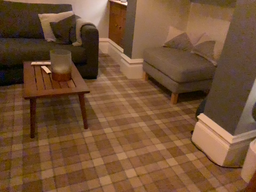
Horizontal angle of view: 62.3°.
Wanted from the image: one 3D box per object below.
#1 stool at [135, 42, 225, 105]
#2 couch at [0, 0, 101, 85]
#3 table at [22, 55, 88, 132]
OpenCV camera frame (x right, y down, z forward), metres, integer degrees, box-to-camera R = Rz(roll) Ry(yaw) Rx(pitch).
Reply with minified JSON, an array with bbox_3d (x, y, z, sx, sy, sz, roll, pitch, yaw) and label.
[{"bbox_3d":[0.570,-0.330,2.590,0.630,0.450,0.820,-6,31,-23],"label":"stool"},{"bbox_3d":[-1.060,-0.780,2.730,1.080,0.740,1.150,-8,31,-24],"label":"couch"},{"bbox_3d":[-0.680,-0.080,1.920,0.450,0.360,0.760,-7,30,-24],"label":"table"}]
